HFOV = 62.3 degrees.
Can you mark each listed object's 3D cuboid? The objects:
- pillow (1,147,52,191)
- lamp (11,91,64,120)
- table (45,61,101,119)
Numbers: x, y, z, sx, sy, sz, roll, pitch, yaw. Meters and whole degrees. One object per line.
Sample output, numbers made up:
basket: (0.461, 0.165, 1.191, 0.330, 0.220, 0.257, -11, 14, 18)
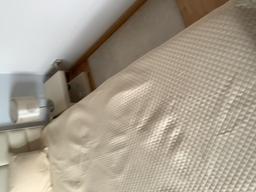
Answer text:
pillow: (-0.880, 0.700, 1.880, 0.180, 0.340, 0.400, -24, 56, 25)
lamp: (-0.920, 0.090, 2.160, 0.250, 0.410, 0.200, -27, 73, 42)
table: (-0.630, -0.060, 2.380, 0.460, 0.340, 0.480, -28, 72, 42)
